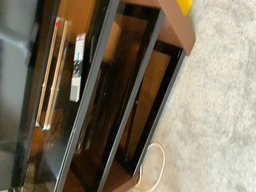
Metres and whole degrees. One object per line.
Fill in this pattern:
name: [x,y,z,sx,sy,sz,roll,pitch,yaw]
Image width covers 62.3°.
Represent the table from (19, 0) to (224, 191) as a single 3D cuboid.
table: [-0.100,0.040,1.010,0.440,0.470,1.250,35,111,45]
